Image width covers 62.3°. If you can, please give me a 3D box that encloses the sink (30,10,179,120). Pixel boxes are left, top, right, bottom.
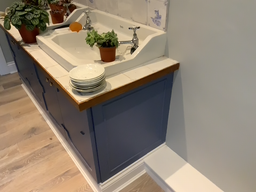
[{"bbox_3d":[-0.170,-0.250,1.200,0.480,0.260,0.730,-23,40,-29],"label":"sink"}]
